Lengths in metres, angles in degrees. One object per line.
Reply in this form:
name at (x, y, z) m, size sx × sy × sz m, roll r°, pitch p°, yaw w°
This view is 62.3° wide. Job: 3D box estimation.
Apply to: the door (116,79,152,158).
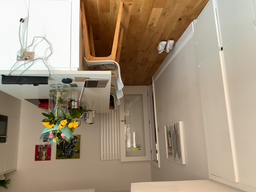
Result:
door at (0.140, 0.570, 5.690) m, size 0.890 × 2.050 × 0.200 m, roll 0°, pitch 169°, yaw -6°
